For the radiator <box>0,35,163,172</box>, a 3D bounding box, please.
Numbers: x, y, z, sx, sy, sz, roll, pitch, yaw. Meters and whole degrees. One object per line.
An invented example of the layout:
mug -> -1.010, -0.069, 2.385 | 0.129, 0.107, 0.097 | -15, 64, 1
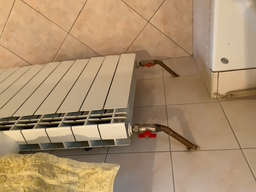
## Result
radiator -> -0.330, -0.020, 0.970 | 0.920, 0.740, 0.170 | -6, 121, 10
